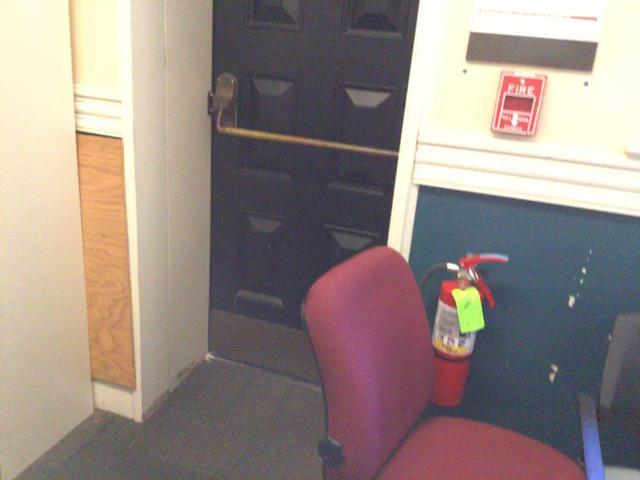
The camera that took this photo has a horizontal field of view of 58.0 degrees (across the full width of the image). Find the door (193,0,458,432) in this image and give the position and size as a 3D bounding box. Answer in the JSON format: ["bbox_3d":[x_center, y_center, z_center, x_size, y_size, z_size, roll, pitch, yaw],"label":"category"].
[{"bbox_3d":[-0.040,-0.130,2.050,0.800,1.550,0.170,11,20,17],"label":"door"}]
